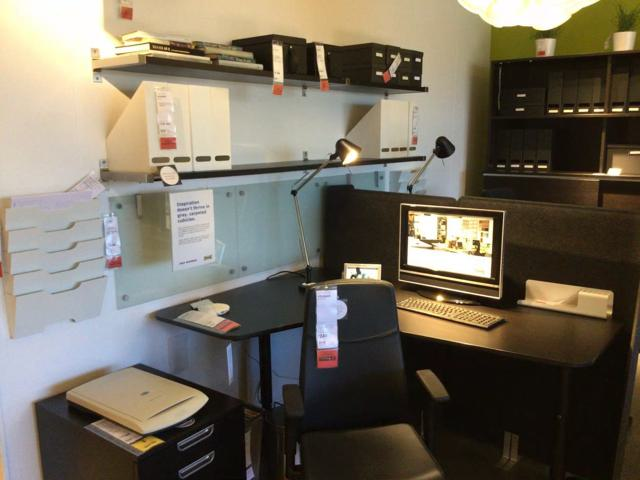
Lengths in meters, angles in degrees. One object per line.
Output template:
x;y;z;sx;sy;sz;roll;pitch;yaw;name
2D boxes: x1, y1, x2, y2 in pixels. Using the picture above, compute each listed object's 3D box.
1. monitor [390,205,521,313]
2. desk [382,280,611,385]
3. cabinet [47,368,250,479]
0.570;0.060;2.520;0.170;0.400;0.560;-5;7;-39;monitor
0.680;0.300;2.140;0.680;0.150;0.700;3;7;29;desk
-0.600;0.840;2.040;0.560;0.570;0.440;5;8;41;cabinet
